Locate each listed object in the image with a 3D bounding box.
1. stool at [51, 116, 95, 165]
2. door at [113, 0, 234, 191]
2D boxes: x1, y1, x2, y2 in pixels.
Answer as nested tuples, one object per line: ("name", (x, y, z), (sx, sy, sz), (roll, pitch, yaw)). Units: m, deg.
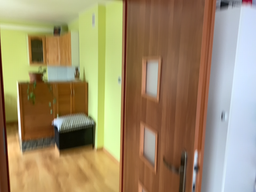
("stool", (-1.010, 0.780, 3.890), (0.670, 0.690, 0.430), (-4, 11, -31))
("door", (0.130, 0.320, 1.290), (0.130, 2.080, 0.910), (-2, 10, -23))
